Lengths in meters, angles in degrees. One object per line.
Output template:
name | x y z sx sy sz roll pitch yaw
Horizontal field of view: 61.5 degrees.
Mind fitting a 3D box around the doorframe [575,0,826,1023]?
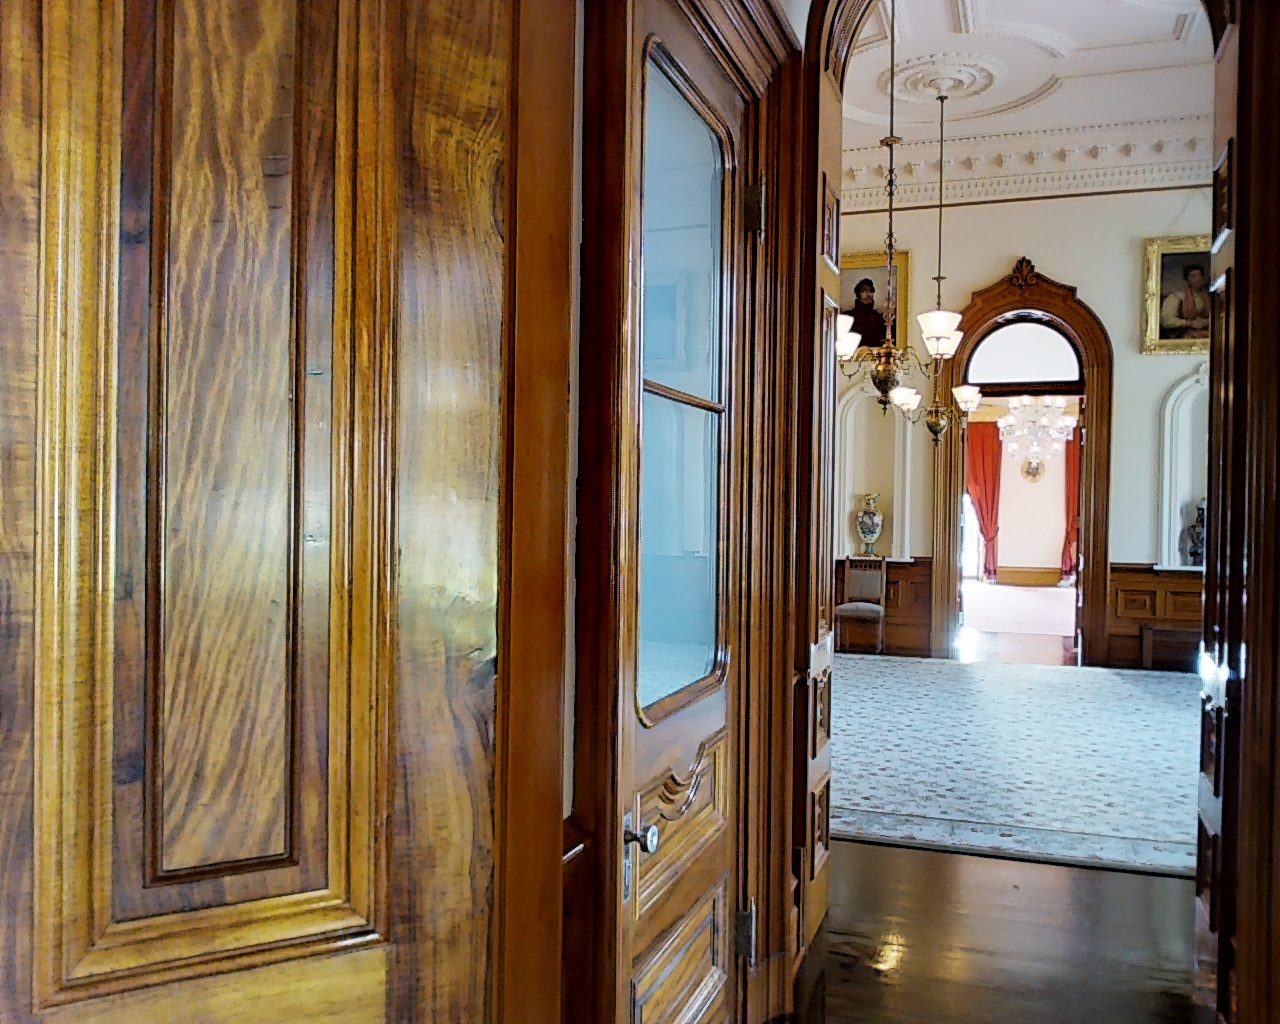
doorframe | 0.220 0.000 2.650 0.160 2.960 1.470 1 1 20
